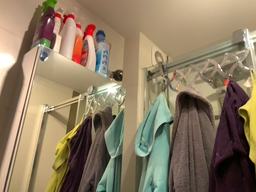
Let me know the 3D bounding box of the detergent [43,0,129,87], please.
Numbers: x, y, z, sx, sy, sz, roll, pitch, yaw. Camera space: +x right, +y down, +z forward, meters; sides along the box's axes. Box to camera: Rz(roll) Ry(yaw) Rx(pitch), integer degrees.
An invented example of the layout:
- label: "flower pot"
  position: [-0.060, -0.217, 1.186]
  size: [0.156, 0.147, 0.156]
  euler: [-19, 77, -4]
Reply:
- label: "detergent"
  position: [-0.180, -0.280, 1.070]
  size: [0.140, 0.330, 0.390]
  euler: [-15, -28, 37]
